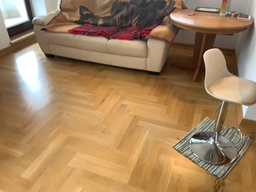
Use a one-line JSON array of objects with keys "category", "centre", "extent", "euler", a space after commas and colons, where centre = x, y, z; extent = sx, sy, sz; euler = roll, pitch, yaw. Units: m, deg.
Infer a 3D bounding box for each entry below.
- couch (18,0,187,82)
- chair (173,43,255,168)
[{"category": "couch", "centre": [-0.300, -1.090, 3.240], "extent": [2.140, 0.980, 1.130], "euler": [11, 35, 16]}, {"category": "chair", "centre": [0.700, 0.070, 1.680], "extent": [0.350, 0.800, 0.470], "euler": [-17, 38, -25]}]
